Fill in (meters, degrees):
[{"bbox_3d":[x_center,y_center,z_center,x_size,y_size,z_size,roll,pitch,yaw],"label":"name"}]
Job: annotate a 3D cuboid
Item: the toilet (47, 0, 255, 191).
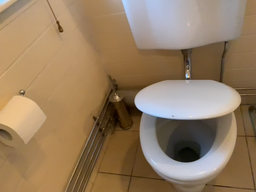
[{"bbox_3d":[0.240,-0.010,0.900,0.500,0.890,0.720,-2,44,16],"label":"toilet"}]
